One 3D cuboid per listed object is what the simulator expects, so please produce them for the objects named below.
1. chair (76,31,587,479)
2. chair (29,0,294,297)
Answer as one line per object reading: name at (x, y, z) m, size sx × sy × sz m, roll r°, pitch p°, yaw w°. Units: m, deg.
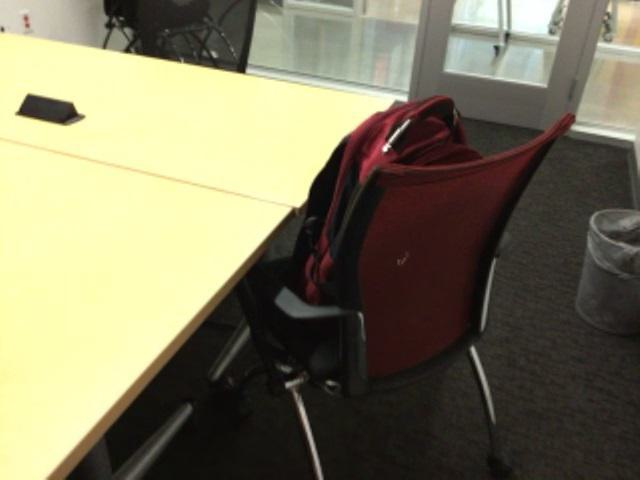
chair at (0.060, 0.110, 1.280) m, size 0.730 × 0.880 × 0.640 m, roll 15°, pitch 35°, yaw 18°
chair at (-0.490, -0.380, 2.060) m, size 0.600 × 0.880 × 0.550 m, roll 15°, pitch 35°, yaw 18°
